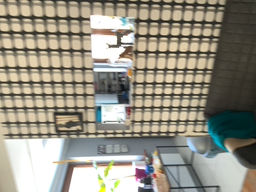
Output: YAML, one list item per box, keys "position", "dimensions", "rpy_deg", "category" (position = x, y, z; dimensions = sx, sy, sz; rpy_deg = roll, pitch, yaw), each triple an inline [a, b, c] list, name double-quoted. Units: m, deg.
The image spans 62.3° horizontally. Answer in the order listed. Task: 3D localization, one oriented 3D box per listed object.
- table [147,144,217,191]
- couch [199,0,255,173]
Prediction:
- position: [0.850, 1.380, 3.690]
  dimensions: [1.030, 0.830, 0.550]
  rpy_deg: [-101, 12, -65]
  category: "table"
- position: [1.110, -0.190, 1.560]
  dimensions: [0.750, 0.700, 1.230]
  rpy_deg: [-101, 12, -65]
  category: "couch"
